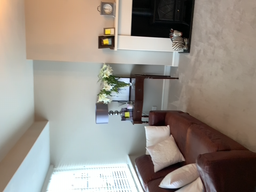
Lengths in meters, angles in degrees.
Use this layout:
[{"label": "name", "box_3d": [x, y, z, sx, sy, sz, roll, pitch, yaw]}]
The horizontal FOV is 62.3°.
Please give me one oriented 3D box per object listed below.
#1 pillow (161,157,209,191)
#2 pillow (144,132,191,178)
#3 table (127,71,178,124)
[{"label": "pillow", "box_3d": [0.570, 0.790, 2.190, 0.370, 0.370, 0.140, 102, 144, -78]}, {"label": "pillow", "box_3d": [0.490, 0.730, 2.690, 0.200, 0.390, 0.410, 62, 173, -27]}, {"label": "table", "box_3d": [0.410, 0.010, 3.740, 0.450, 0.750, 0.840, -137, 48, -75]}]
